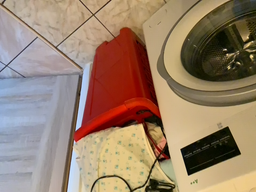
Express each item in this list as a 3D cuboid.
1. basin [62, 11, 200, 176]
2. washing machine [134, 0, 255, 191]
[{"bbox_3d":[0.030,0.000,1.070,0.340,0.560,0.520,-27,132,23],"label":"basin"},{"bbox_3d":[0.440,-0.100,0.780,0.610,0.860,0.480,-29,131,25],"label":"washing machine"}]
